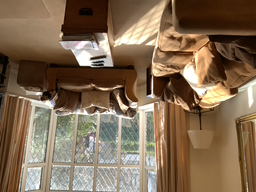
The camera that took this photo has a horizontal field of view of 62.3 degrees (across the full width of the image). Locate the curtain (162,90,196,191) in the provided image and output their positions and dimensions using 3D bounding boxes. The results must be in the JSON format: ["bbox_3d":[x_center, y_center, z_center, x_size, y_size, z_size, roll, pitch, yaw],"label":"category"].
[{"bbox_3d":[0.850,0.990,3.580,0.490,2.190,0.180,2,166,-2],"label":"curtain"}]

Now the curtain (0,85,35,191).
[{"bbox_3d":[-2.210,0.820,3.820,0.540,1.940,0.650,2,166,-2],"label":"curtain"}]
